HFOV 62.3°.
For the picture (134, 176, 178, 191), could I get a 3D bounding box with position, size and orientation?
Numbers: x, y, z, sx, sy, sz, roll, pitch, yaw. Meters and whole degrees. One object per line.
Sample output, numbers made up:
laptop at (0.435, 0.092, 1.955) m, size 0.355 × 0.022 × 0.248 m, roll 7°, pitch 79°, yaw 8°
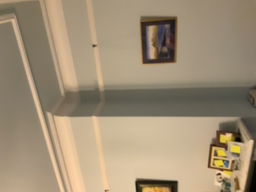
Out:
picture at (0.350, 1.190, 2.640) m, size 0.060 × 0.530 × 0.420 m, roll -71°, pitch -22°, yaw -64°
